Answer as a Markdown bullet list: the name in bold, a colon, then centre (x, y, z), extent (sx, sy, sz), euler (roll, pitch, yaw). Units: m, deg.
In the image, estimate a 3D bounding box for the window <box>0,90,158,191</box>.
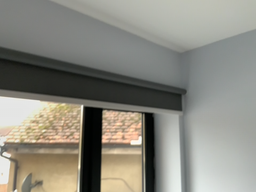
- **window**: centre (-0.220, 0.650, 1.330), extent (1.220, 1.250, 0.040), euler (8, -13, -42)
